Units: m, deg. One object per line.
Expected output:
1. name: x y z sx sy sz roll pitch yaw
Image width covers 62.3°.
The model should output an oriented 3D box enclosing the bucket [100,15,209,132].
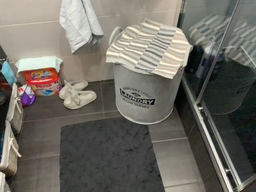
1. bucket: 0.130 -0.150 1.510 0.550 0.560 0.520 -8 53 -6

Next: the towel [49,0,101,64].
1. towel: -0.300 -0.440 1.300 0.220 0.460 0.190 -5 53 -4
